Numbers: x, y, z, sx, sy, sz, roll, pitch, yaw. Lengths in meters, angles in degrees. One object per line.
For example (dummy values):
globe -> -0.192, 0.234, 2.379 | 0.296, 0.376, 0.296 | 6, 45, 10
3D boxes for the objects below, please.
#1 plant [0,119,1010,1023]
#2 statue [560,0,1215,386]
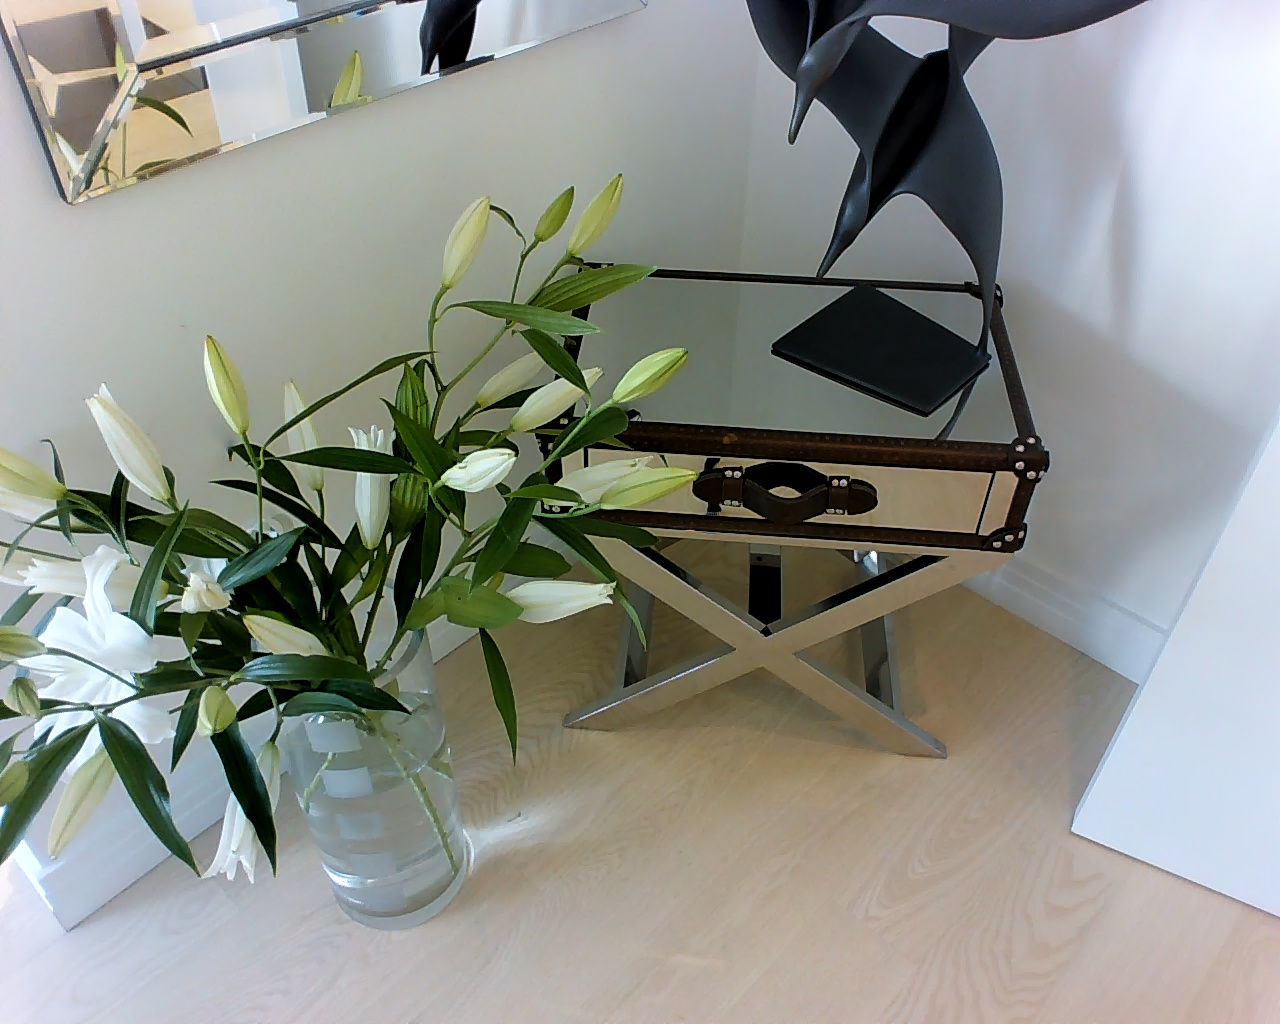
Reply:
plant -> -0.230, 0.230, 1.210 | 0.710, 0.900, 0.880 | 32, 51, 29
statue -> 0.250, -0.500, 1.270 | 0.640, 0.600, 0.280 | 5, 43, 4
